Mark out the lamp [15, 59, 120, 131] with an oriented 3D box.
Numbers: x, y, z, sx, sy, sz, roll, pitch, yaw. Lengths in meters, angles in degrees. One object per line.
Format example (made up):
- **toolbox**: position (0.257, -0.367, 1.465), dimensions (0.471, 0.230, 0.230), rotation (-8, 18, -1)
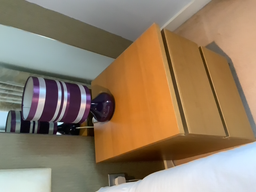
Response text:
- **lamp**: position (-0.240, 0.020, 0.860), dimensions (0.210, 0.340, 0.180), rotation (-32, 57, 45)
